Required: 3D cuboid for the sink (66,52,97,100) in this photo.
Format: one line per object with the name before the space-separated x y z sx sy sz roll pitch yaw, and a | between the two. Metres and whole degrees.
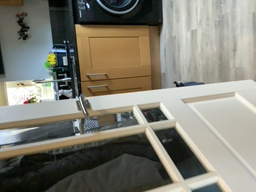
sink | -0.480 -0.210 2.160 0.410 0.210 0.430 -164 69 -68
